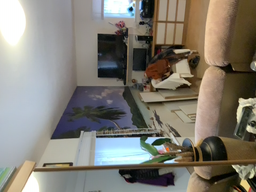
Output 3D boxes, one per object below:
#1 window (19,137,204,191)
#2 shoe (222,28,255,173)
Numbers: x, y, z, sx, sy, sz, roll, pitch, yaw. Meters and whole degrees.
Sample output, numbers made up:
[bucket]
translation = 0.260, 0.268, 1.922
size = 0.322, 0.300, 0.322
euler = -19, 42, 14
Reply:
[window]
translation = -0.140, 0.830, 1.930
size = 1.590, 1.530, 0.150
euler = -113, 24, -72
[shoe]
translation = 0.770, 0.010, 1.270
size = 0.340, 0.150, 0.790
euler = -125, 36, -77
